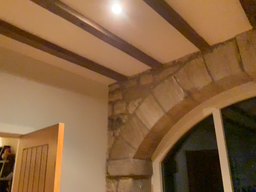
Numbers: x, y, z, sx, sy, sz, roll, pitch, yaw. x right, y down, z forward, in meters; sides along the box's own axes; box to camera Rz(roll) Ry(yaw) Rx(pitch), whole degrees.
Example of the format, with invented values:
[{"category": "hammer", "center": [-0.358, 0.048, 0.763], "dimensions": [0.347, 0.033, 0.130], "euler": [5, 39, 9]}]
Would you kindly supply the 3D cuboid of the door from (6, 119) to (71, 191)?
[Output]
[{"category": "door", "center": [-0.640, 1.180, 1.260], "dimensions": [0.790, 1.980, 0.060], "euler": [-17, -24, 41]}]
